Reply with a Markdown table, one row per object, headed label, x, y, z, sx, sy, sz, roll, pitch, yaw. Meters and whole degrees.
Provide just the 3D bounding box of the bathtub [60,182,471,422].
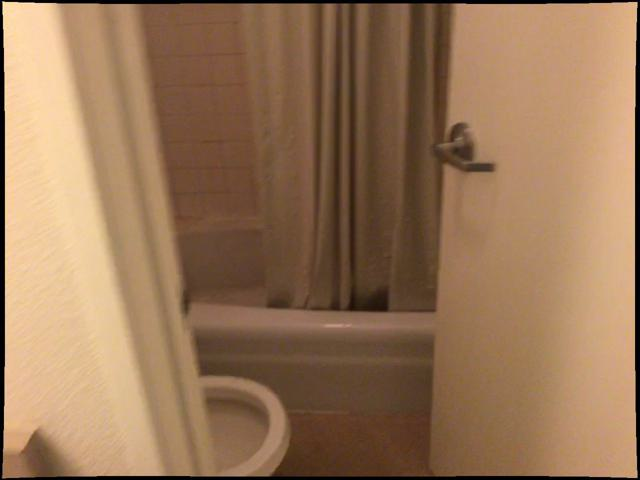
| label | x | y | z | sx | sy | sz | roll | pitch | yaw |
| --- | --- | --- | --- | --- | --- | --- | --- | --- | --- |
| bathtub | -0.130 | 0.190 | 2.140 | 1.227 | 0.481 | 0.781 | -1 | 31 | 7 |
